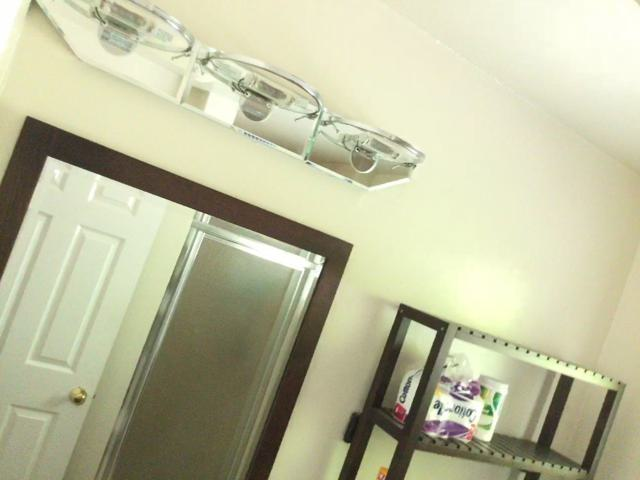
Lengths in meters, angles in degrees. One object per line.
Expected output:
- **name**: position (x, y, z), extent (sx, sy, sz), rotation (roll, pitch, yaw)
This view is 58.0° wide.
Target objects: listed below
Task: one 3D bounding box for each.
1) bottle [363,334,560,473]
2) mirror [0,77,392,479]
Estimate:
- **bottle**: position (0.350, 0.400, 1.410), extent (0.420, 0.190, 0.180), rotation (24, -4, -28)
- **mirror**: position (-0.360, 0.330, 1.120), extent (0.750, 1.000, 0.140), rotation (24, -4, -28)
